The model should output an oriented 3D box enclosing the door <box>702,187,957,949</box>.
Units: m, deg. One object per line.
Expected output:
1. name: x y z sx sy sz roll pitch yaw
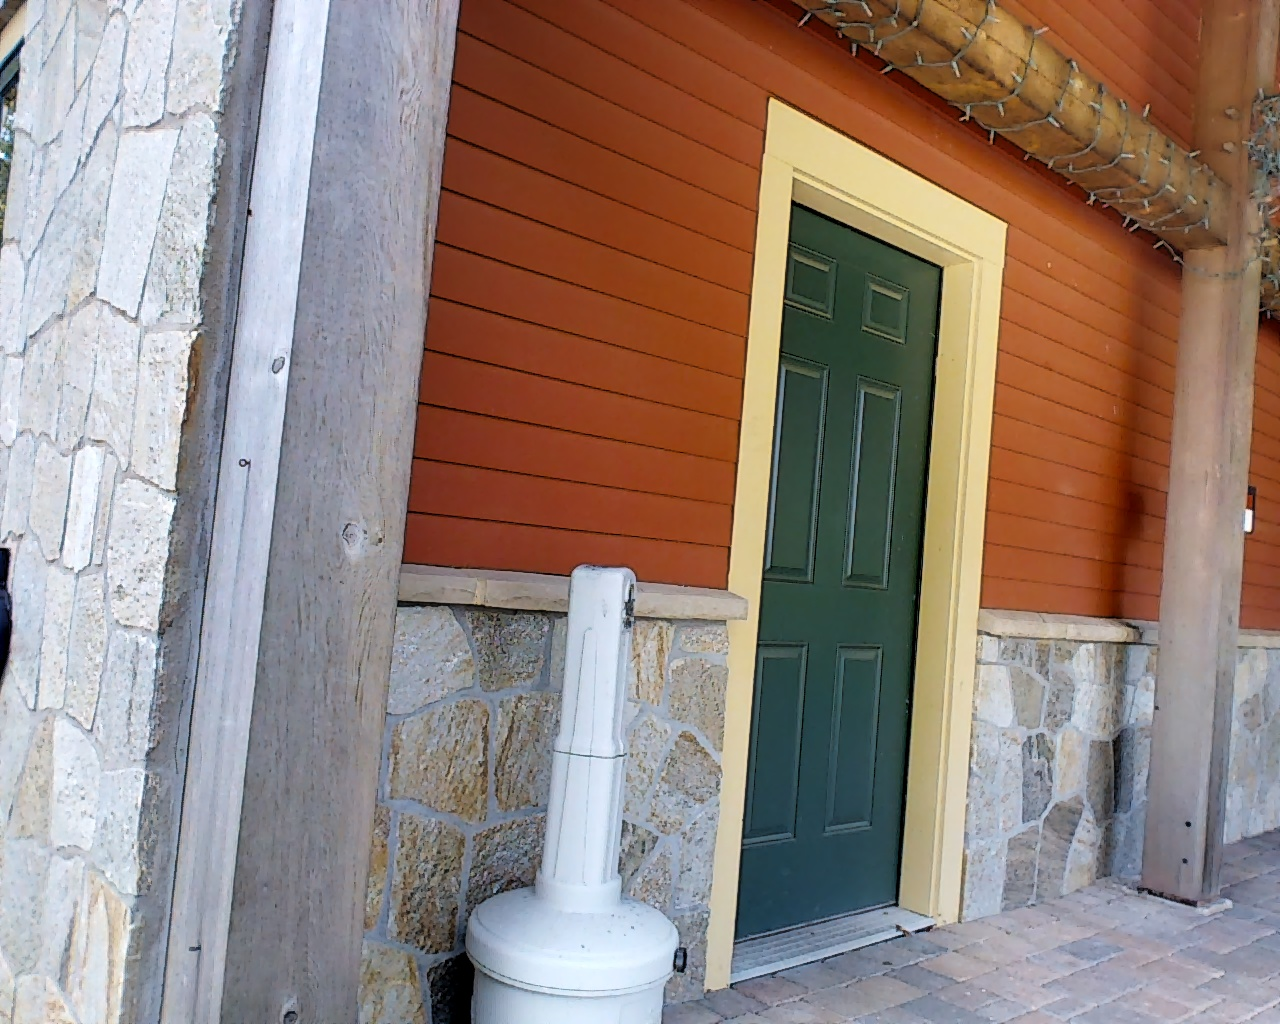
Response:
1. door: 0.590 0.170 3.130 0.880 2.000 0.070 7 -3 -42
